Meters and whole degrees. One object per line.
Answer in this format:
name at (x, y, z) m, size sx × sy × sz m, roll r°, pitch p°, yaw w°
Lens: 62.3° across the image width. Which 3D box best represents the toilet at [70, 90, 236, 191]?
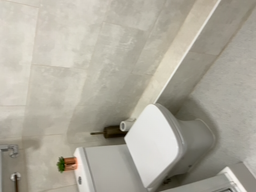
toilet at (0.120, 0.340, 1.350) m, size 0.430 × 0.770 × 0.600 m, roll 60°, pitch 137°, yaw 39°
